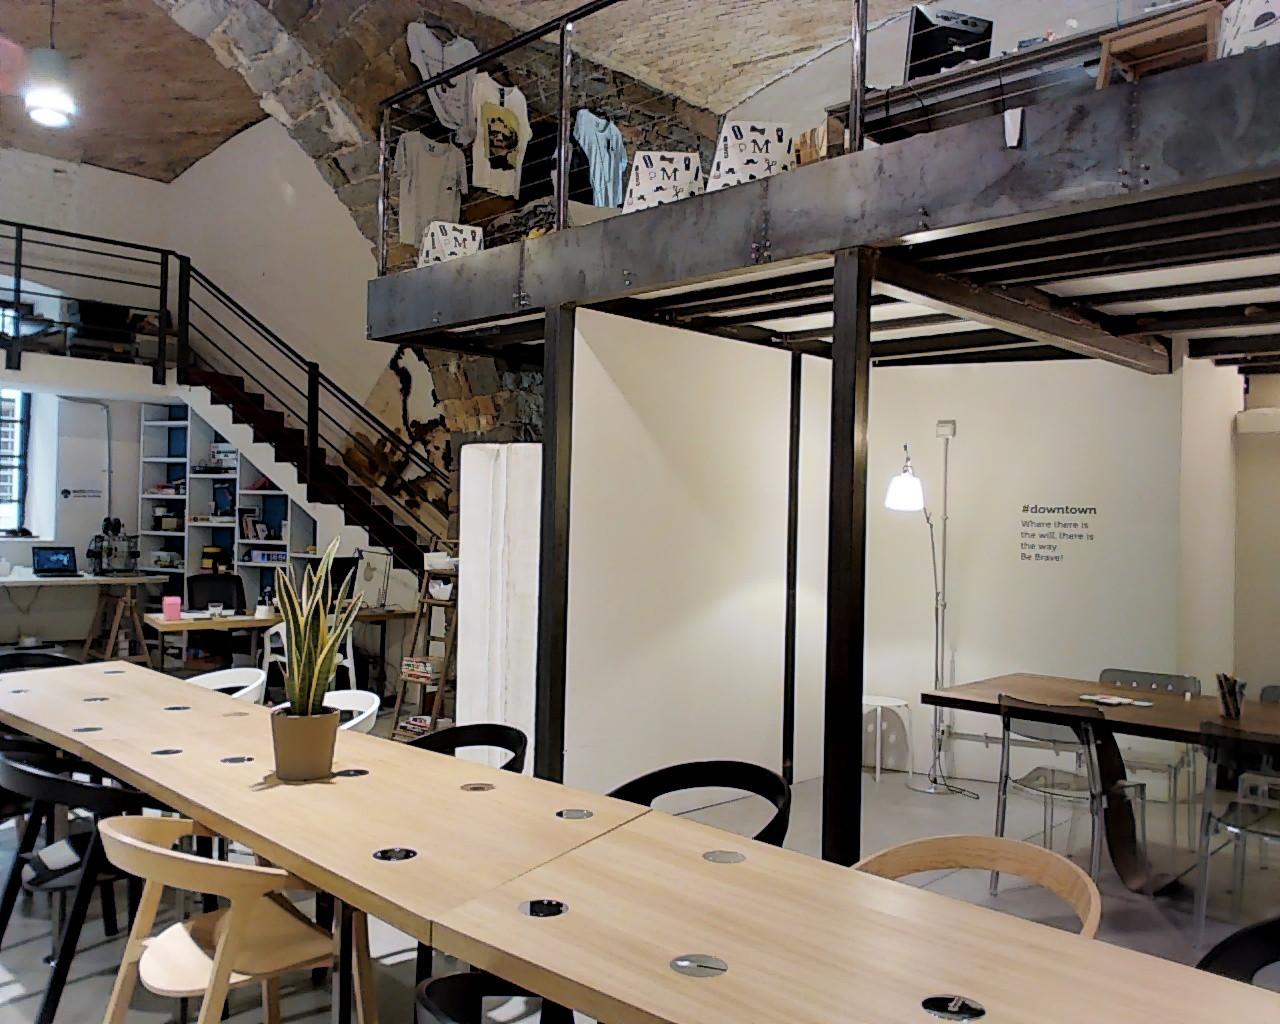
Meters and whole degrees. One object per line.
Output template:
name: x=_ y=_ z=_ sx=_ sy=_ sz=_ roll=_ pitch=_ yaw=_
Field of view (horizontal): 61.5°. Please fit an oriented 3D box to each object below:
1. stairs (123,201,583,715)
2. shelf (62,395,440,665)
stairs: x=-2.539 y=-0.430 z=9.250 sx=3.959 sy=3.791 sz=1.050 roll=1 pitch=-1 yaw=25
shelf: x=-3.579 y=0.240 z=9.980 sx=2.600 sy=2.520 sz=0.620 roll=2 pitch=40 yaw=-45
